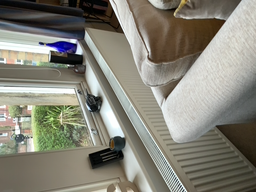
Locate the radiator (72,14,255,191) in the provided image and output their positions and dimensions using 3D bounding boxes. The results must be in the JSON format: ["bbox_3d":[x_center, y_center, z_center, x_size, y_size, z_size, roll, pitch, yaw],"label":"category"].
[{"bbox_3d":[0.100,-0.210,1.820,2.180,0.700,0.160,57,136,45],"label":"radiator"}]
